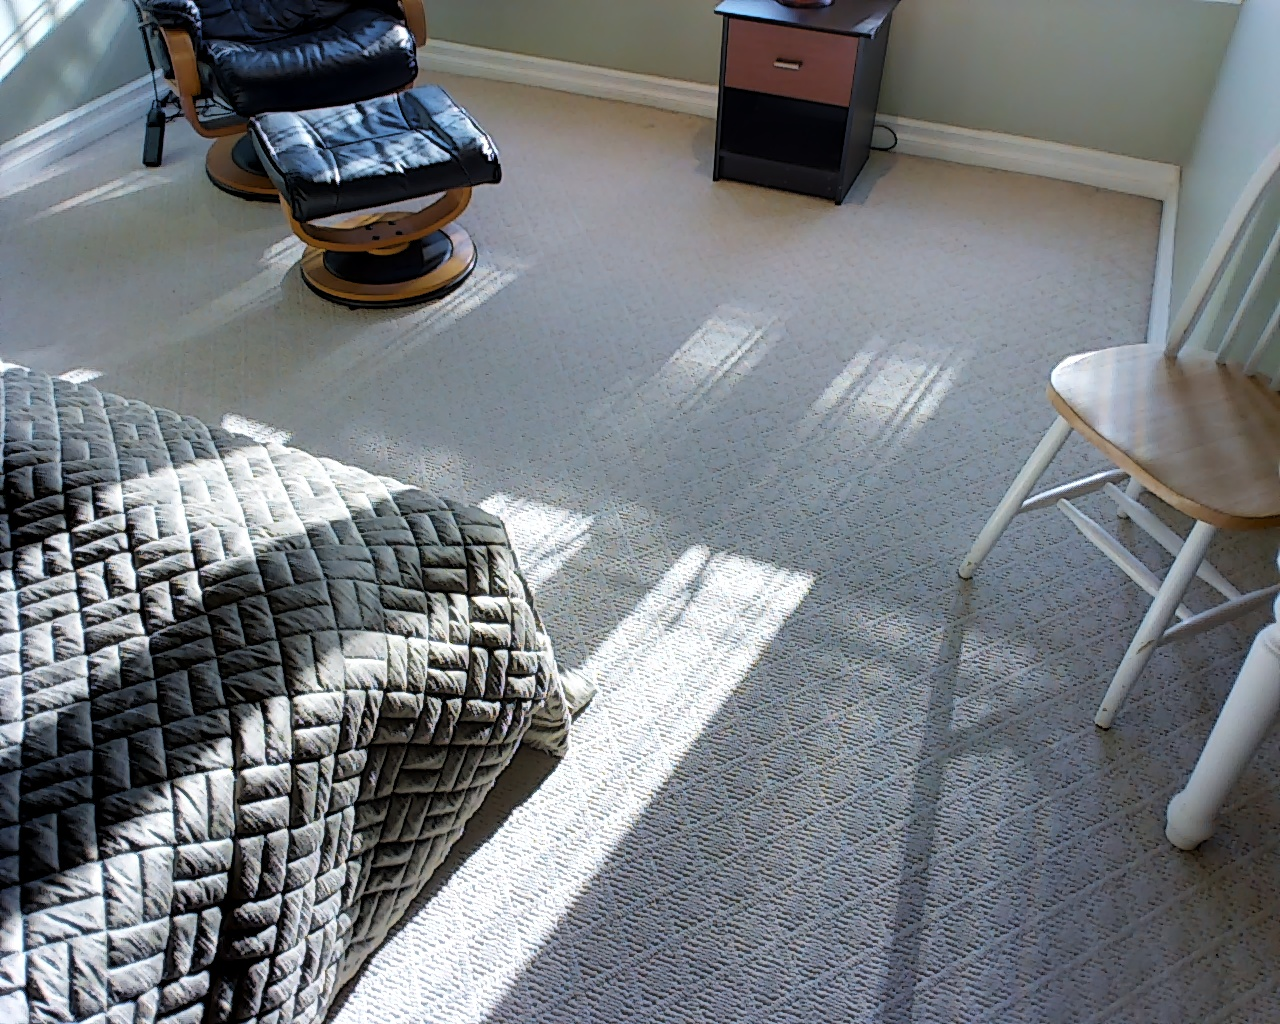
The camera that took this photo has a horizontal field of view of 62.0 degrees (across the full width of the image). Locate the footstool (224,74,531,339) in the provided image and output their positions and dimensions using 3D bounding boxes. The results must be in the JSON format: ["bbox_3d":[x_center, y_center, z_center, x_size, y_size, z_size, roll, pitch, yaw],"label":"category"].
[{"bbox_3d":[-0.680,-0.820,2.790,0.600,0.380,0.530,-19,45,-20],"label":"footstool"}]

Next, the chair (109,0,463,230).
[{"bbox_3d":[-1.110,-1.560,3.190,0.830,0.940,0.960,-15,44,-16],"label":"chair"}]

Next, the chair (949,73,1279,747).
[{"bbox_3d":[0.980,-0.170,1.700,0.610,0.850,0.510,-15,44,-16],"label":"chair"}]
